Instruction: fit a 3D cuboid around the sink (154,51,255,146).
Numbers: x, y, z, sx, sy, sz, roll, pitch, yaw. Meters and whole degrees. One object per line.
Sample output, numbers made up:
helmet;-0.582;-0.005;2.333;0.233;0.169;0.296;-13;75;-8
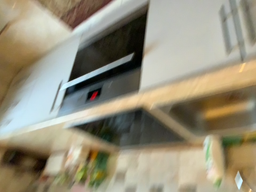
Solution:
sink;0.420;0.060;0.980;0.400;0.160;0.460;-18;141;37
